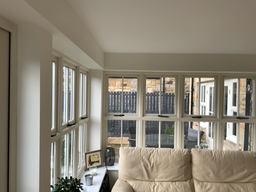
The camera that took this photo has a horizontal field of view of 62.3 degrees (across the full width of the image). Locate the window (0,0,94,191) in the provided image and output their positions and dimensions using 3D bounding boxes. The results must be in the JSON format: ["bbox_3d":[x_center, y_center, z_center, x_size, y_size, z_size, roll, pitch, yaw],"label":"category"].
[{"bbox_3d":[-0.710,0.280,2.150,0.260,1.560,2.190,1,1,3],"label":"window"}]

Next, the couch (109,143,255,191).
[{"bbox_3d":[0.820,1.190,2.590,2.030,0.950,1.040,1,1,-1],"label":"couch"}]
